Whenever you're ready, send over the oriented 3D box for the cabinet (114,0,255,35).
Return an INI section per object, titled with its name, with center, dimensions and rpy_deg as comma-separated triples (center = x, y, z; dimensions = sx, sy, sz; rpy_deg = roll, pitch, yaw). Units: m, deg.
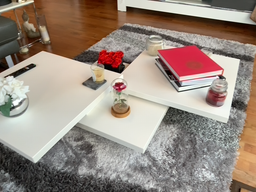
[cabinet]
center = 0.820, -1.330, 2.830
dimensions = 2.100, 0.570, 0.460
rpy_deg = 19, 42, 23
